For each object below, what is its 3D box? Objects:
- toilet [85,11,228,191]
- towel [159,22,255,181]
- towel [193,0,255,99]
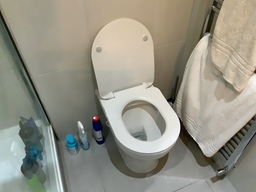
[{"bbox_3d":[0.080,0.070,1.180,0.390,0.820,0.540,-16,48,-15],"label":"toilet"},{"bbox_3d":[0.400,0.070,1.110,0.100,0.740,0.490,-28,52,-24],"label":"towel"},{"bbox_3d":[0.430,-0.260,0.840,0.100,0.440,0.320,-16,49,-11],"label":"towel"}]
